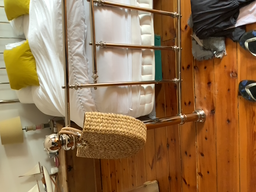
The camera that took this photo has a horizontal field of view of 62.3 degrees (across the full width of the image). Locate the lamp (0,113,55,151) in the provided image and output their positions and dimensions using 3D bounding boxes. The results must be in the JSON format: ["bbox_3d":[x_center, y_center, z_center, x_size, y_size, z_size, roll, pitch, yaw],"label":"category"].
[{"bbox_3d":[-1.250,0.410,2.580,0.380,0.590,0.310,2,96,57],"label":"lamp"}]

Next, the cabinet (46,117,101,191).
[{"bbox_3d":[-0.720,0.830,2.770,0.600,0.470,0.990,4,98,57],"label":"cabinet"}]

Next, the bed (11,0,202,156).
[{"bbox_3d":[-0.490,-0.650,1.930,2.140,0.770,1.660,4,98,57],"label":"bed"}]
